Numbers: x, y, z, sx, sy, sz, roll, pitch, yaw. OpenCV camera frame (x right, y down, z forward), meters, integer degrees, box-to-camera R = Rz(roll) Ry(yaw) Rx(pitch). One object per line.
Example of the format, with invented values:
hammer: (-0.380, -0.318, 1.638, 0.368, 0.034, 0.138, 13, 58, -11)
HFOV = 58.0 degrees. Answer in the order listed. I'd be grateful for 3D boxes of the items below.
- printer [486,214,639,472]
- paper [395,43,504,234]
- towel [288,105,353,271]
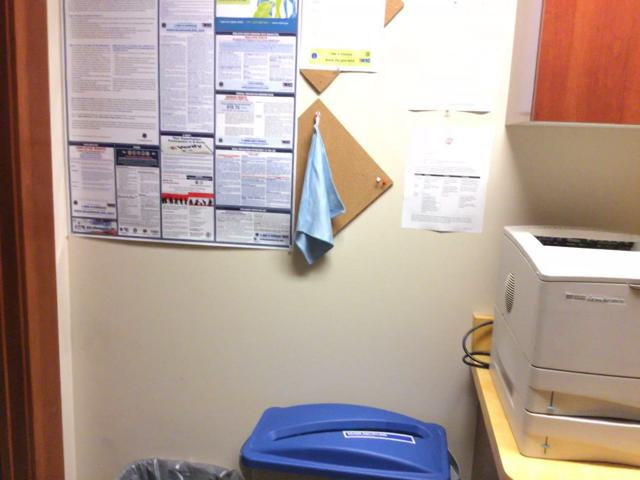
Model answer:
printer: (0.600, 0.180, 1.190, 0.420, 0.390, 0.430, 5, 10, 10)
paper: (0.330, -0.260, 1.500, 0.230, 0.470, 0.040, 5, 10, 10)
towel: (0.000, -0.140, 1.560, 0.140, 0.430, 0.060, 5, 10, 10)
